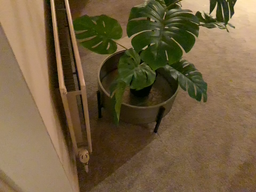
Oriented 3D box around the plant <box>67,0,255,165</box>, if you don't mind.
[{"bbox_3d":[0.080,-0.150,1.200,0.680,0.690,0.690,-10,53,-13],"label":"plant"}]
